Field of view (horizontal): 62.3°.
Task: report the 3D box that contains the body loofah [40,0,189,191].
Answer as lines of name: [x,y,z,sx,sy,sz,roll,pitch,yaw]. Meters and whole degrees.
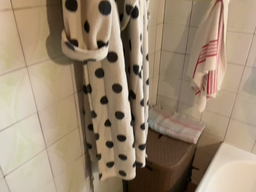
body loofah: [0.010,-0.290,0.720,0.200,1.370,0.550,19,35,29]

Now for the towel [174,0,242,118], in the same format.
towel: [0.380,-0.200,1.050,0.190,0.600,0.140,20,35,31]
